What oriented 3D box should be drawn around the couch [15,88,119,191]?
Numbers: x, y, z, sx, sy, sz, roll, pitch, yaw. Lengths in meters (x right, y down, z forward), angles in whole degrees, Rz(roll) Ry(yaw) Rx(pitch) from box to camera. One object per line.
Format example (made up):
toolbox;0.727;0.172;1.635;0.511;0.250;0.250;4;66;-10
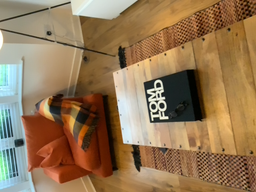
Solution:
couch;-0.840;0.510;2.760;1.090;0.850;1.030;-11;87;53
